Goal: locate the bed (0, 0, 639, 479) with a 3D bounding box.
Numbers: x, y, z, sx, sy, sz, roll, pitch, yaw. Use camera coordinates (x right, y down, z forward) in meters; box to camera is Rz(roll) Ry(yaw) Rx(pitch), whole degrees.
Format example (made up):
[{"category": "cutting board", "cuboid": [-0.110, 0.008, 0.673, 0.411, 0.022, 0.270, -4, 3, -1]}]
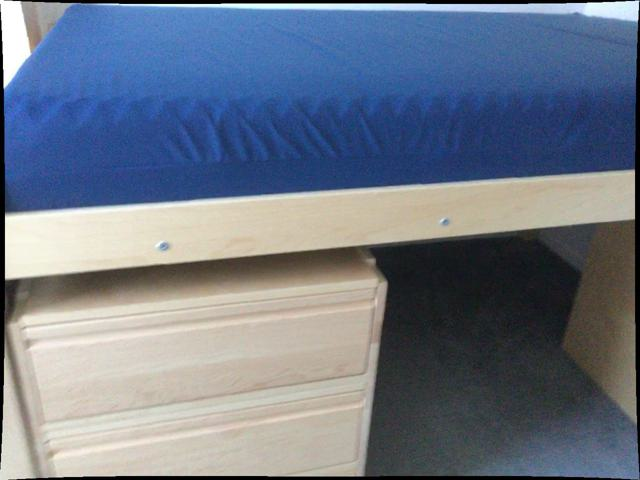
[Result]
[{"category": "bed", "cuboid": [0.280, -0.080, 1.800, 2.237, 1.171, 1.690, -6, 29, -16]}]
